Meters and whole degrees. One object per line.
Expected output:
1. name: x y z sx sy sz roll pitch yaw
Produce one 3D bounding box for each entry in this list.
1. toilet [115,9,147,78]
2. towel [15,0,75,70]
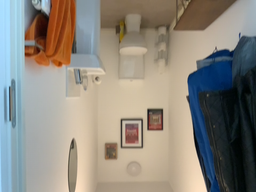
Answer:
1. toilet: 0.030 -0.650 2.850 0.380 0.770 0.670 0 -179 -1
2. towel: -0.390 -0.410 1.080 0.120 0.500 0.470 0 -179 0
